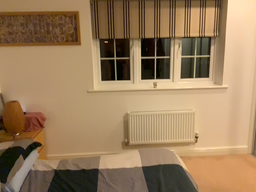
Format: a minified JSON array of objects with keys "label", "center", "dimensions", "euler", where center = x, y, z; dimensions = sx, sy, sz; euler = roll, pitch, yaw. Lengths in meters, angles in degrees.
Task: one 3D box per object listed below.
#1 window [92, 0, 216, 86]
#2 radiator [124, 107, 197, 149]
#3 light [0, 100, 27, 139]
[{"label":"window","center":[0.370,-0.730,2.910],"dimensions":[1.650,1.120,0.060],"euler":[-2,11,-4]},{"label":"radiator","center":[0.430,0.430,2.870],"dimensions":[0.960,0.500,0.110],"euler":[-2,11,-4]},{"label":"light","center":[-1.330,0.260,2.400],"dimensions":[0.250,0.390,0.190],"euler":[-2,11,-2]}]
